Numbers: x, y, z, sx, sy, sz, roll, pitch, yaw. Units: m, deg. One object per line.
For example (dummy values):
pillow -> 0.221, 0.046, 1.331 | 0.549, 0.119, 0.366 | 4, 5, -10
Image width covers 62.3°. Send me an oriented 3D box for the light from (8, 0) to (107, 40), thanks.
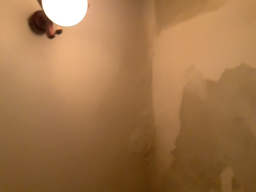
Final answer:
light -> -0.300, -0.410, 0.900 | 0.340, 0.180, 0.270 | 7, 170, -30
